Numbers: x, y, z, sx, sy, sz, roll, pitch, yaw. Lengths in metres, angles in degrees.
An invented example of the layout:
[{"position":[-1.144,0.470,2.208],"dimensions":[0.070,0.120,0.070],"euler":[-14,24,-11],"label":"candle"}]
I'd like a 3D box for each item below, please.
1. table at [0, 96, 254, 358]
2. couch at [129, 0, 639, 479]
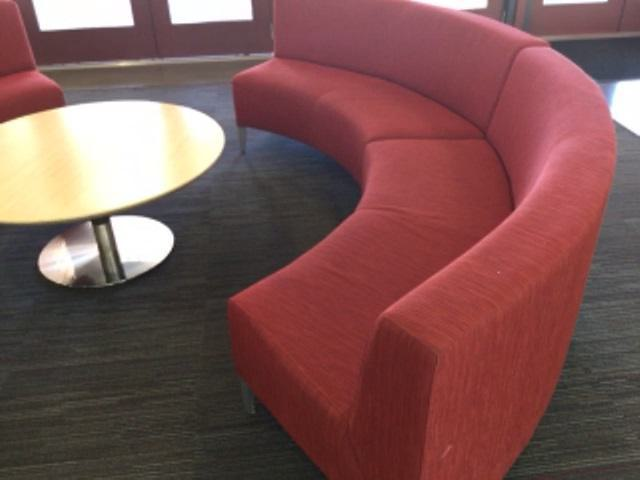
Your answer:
[{"position":[-0.870,-0.120,2.290],"dimensions":[1.030,0.490,0.990],"euler":[-9,34,-12],"label":"table"},{"position":[0.270,-0.360,2.280],"dimensions":[1.300,0.790,3.120],"euler":[-4,33,-4],"label":"couch"}]
